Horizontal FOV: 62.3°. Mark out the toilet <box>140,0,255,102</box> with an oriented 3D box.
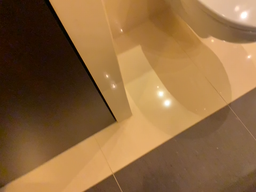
[{"bbox_3d":[0.350,-0.360,0.880,0.380,0.460,0.540,-30,70,-6],"label":"toilet"}]
